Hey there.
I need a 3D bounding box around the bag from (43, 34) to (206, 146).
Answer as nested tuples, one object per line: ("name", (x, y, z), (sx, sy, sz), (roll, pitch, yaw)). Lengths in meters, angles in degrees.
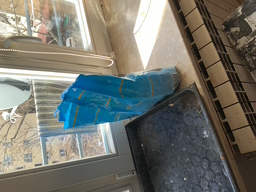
("bag", (-0.020, 0.010, 0.750), (0.350, 0.420, 0.210), (-31, 66, 46))
